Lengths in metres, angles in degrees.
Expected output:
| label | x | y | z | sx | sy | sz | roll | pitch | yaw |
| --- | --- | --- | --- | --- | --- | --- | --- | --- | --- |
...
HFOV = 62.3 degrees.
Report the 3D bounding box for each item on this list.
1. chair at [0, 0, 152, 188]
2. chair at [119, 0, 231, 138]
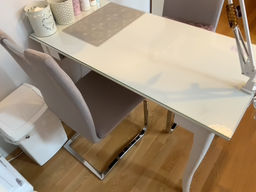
| label | x | y | z | sx | sy | sz | roll | pitch | yaw |
| --- | --- | --- | --- | --- | --- | --- | --- | --- | --- |
| chair | -0.210 | 0.000 | 1.240 | 0.450 | 0.990 | 0.540 | 27 | 55 | 26 |
| chair | 0.300 | -0.270 | 1.440 | 0.400 | 0.990 | 0.540 | 29 | 56 | 27 |
